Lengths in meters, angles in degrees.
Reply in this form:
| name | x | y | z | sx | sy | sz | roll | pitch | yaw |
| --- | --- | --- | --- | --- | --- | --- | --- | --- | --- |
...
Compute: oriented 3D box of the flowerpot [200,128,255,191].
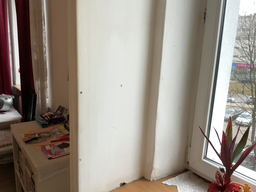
| name | x | y | z | sx | sy | sz | roll | pitch | yaw |
| --- | --- | --- | --- | --- | --- | --- | --- | --- | --- |
| flowerpot | 0.420 | 0.330 | 0.850 | 0.140 | 0.340 | 0.180 | -5 | 14 | -29 |
